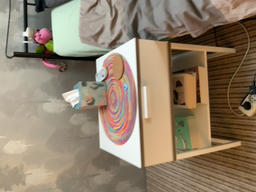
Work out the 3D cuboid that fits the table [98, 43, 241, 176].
[{"bbox_3d":[0.180,0.030,1.050,0.460,0.510,0.460,5,97,61],"label":"table"}]
